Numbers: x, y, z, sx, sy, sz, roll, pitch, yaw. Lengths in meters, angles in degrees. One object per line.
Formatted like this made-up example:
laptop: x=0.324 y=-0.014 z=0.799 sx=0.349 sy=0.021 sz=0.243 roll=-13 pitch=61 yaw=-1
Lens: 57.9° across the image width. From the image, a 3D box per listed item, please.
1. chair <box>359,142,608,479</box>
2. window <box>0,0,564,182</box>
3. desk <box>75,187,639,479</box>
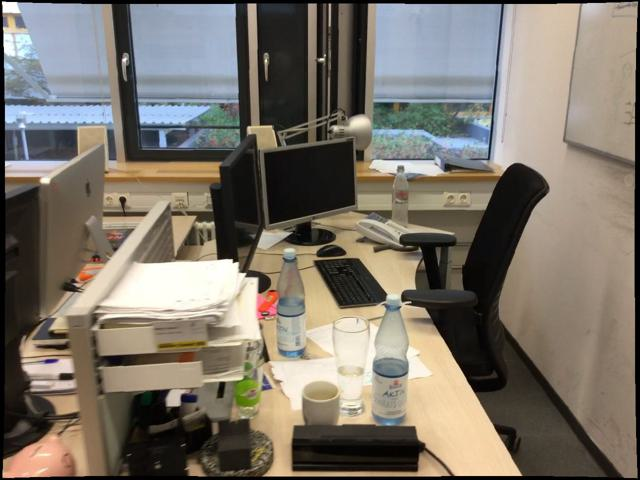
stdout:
chair: x=0.480 y=0.280 z=2.100 sx=0.569 sy=1.141 sz=0.750 roll=-1 pitch=20 yaw=-2
window: x=-0.519 y=-0.901 z=3.180 sx=3.347 sy=0.991 sz=0.740 roll=-1 pitch=20 yaw=-2
desk: x=0.090 y=0.450 z=2.140 sx=1.139 sy=0.791 sz=2.080 roll=-1 pitch=20 yaw=-2
